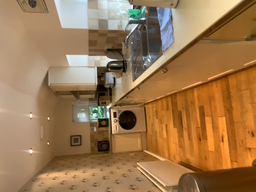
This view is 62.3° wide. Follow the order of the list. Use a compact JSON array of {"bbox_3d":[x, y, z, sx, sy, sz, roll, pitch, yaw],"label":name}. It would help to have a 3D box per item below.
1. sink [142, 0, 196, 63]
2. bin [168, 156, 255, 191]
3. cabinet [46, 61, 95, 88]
[{"bbox_3d":[0.280,-0.540,1.560,0.360,0.230,0.510,152,116,-77],"label":"sink"},{"bbox_3d":[0.730,0.690,1.610,0.410,0.720,0.330,149,118,-76],"label":"bin"},{"bbox_3d":[-1.000,-0.370,3.770,0.640,0.770,0.330,152,116,-77],"label":"cabinet"}]
